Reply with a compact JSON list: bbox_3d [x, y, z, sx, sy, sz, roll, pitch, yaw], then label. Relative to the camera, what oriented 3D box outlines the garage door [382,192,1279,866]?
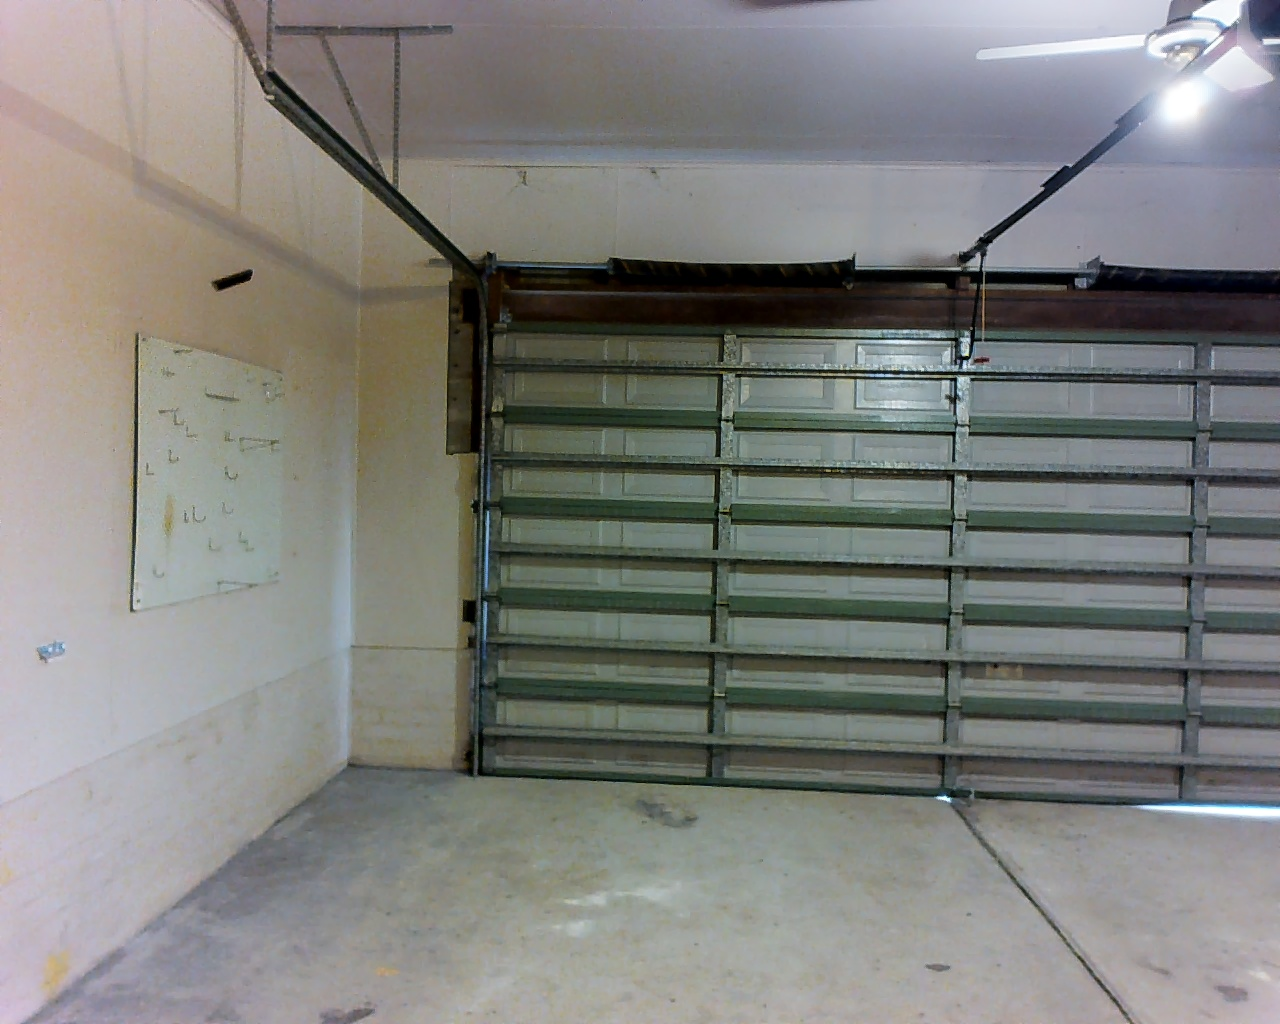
[{"bbox_3d":[1.560,0.060,5.260,5.368,2.911,1.000,2,1,3],"label":"garage door"}]

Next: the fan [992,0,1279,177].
[{"bbox_3d":[1.769,-1.500,3.320,1.060,1.120,0.390,2,-44,3],"label":"fan"}]
